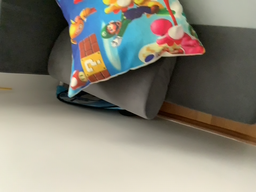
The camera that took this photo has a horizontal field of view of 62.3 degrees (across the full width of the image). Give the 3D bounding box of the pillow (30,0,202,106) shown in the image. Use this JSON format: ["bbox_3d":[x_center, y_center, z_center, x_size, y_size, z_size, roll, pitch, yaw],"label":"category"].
[{"bbox_3d":[-0.070,-0.240,0.690,0.440,0.180,0.410,-25,79,32],"label":"pillow"}]
